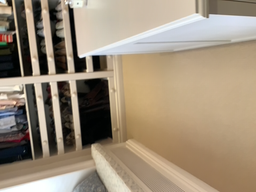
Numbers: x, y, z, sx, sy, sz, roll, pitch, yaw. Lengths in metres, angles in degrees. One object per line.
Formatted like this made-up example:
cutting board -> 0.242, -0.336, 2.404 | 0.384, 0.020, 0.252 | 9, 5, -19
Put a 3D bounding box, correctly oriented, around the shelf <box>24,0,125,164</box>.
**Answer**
shelf -> -0.740, -0.290, 2.930 | 0.760, 1.050, 2.030 | -169, 74, -65
